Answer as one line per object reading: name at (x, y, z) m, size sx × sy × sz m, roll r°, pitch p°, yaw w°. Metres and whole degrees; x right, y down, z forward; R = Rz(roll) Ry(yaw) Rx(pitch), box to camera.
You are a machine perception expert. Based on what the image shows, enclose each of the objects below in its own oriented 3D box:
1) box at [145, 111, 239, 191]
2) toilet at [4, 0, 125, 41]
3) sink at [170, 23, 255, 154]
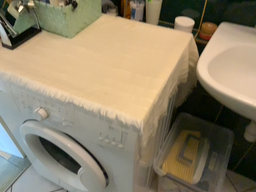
box at (0.330, 0.360, 1.130) m, size 0.330 × 0.310 × 0.360 m, roll 22°, pitch 49°, yaw 20°
toilet at (-0.220, -0.400, 0.800) m, size 0.260 × 0.160 × 0.380 m, roll 22°, pitch 49°, yaw 20°
sink at (0.510, -0.010, 0.730) m, size 0.590 × 0.200 × 0.410 m, roll 21°, pitch 48°, yaw 19°
